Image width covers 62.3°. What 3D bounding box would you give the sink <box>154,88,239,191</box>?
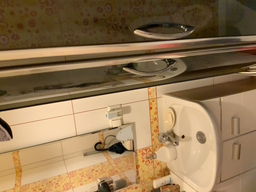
[{"bbox_3d":[0.370,0.240,1.240,0.480,0.180,0.500,-160,63,-64],"label":"sink"}]
